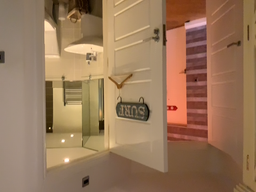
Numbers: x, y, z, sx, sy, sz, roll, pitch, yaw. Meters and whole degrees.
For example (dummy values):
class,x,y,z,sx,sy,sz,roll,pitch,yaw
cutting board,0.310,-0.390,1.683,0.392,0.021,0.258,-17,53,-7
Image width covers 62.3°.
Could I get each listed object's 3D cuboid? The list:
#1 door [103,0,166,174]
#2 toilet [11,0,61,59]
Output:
class,x,y,z,sx,sy,sz,roll,pitch,yaw
door,0.010,-0.400,2.000,0.030,2.030,0.840,-1,-179,-38
toilet,-1.260,-1.010,2.980,0.420,0.870,0.630,-1,-179,-2
